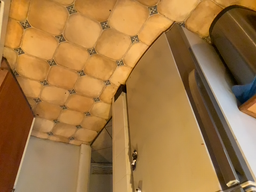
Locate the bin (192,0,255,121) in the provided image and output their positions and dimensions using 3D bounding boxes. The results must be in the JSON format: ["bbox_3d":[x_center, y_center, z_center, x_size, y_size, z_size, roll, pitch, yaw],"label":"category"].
[{"bbox_3d":[0.720,-0.210,1.120,0.480,0.710,0.320,19,132,-23],"label":"bin"}]
